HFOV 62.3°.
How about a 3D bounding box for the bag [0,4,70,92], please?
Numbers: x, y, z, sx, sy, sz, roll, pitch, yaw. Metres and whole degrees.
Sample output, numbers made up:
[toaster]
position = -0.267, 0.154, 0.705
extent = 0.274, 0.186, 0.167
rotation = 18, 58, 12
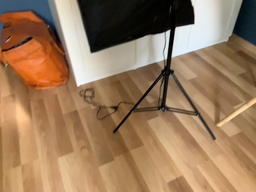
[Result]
[bag]
position = -0.740, -0.390, 1.660
extent = 0.330, 0.420, 0.510
rotation = -22, 48, -20
